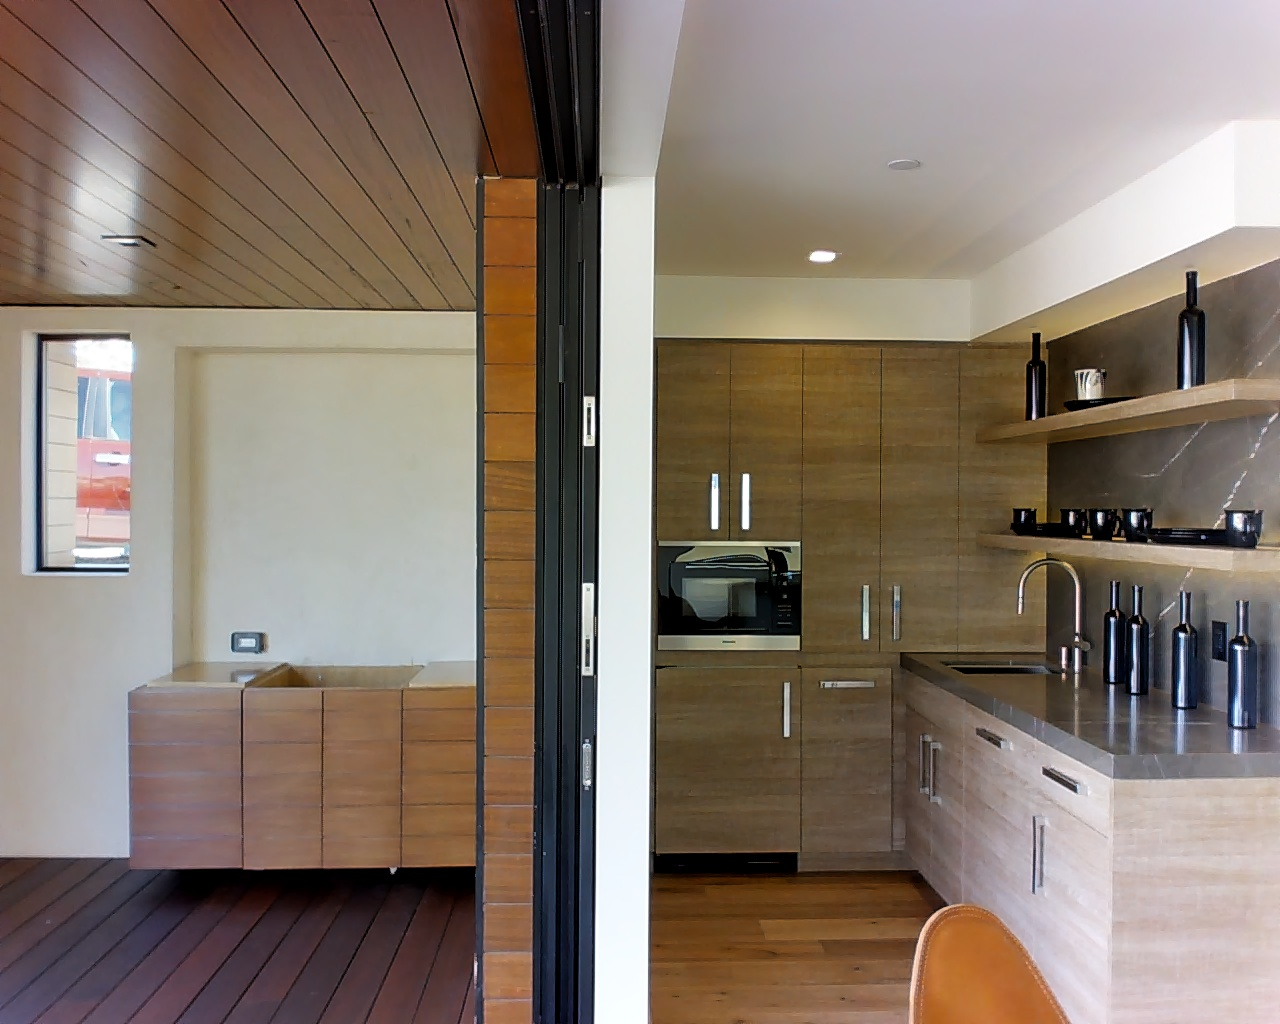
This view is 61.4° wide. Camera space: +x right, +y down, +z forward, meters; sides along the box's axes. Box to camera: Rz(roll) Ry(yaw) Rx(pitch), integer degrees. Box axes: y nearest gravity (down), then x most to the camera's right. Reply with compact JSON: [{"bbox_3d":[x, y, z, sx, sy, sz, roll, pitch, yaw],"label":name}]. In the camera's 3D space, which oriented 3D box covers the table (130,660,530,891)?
[{"bbox_3d":[-1.280,1.110,4.680,1.550,0.830,0.670,1,0,-2],"label":"table"}]
